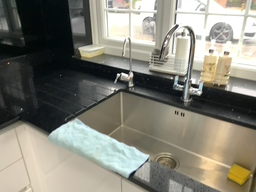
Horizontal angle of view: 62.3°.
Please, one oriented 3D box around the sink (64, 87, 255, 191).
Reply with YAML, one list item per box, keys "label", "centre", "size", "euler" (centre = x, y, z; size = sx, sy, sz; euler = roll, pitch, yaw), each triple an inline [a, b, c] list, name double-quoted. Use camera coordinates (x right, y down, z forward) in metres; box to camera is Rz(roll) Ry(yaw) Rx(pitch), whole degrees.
- label: "sink"
  centre: [0.130, 0.210, 0.910]
  size: [0.750, 0.240, 0.350]
  euler: [16, 30, 31]
